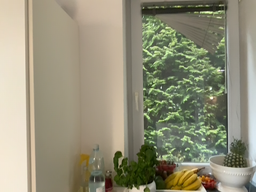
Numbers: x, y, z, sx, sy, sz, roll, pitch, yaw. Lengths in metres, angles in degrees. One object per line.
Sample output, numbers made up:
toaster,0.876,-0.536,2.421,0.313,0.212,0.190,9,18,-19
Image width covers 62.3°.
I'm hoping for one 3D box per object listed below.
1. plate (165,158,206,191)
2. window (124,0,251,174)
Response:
plate,0.380,0.540,1.460,0.210,0.120,0.350,0,0,5
window,0.430,-0.120,1.620,0.900,1.360,0.160,0,0,4
